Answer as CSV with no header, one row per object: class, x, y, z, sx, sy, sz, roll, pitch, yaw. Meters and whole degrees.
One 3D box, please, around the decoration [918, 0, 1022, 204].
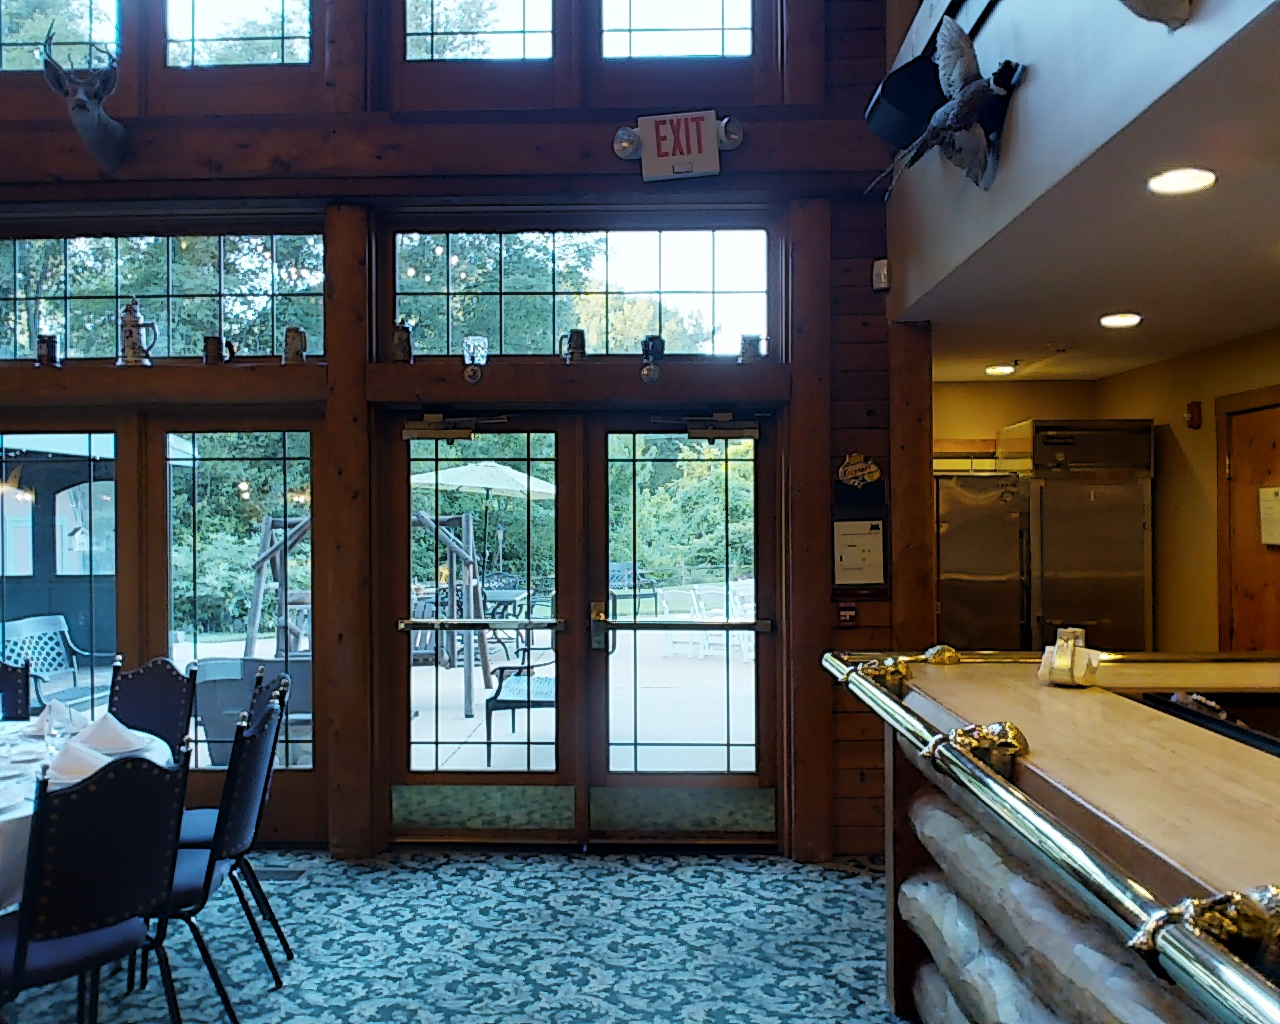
decoration,0.990,-1.260,3.270,0.170,0.510,0.470,-1,0,0
